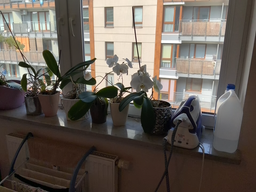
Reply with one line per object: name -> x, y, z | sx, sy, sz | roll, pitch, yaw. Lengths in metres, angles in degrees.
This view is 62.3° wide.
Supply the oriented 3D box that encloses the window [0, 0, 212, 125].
window -> -0.500, -0.490, 1.600 | 2.070, 1.090, 0.160 | 8, 17, 21
